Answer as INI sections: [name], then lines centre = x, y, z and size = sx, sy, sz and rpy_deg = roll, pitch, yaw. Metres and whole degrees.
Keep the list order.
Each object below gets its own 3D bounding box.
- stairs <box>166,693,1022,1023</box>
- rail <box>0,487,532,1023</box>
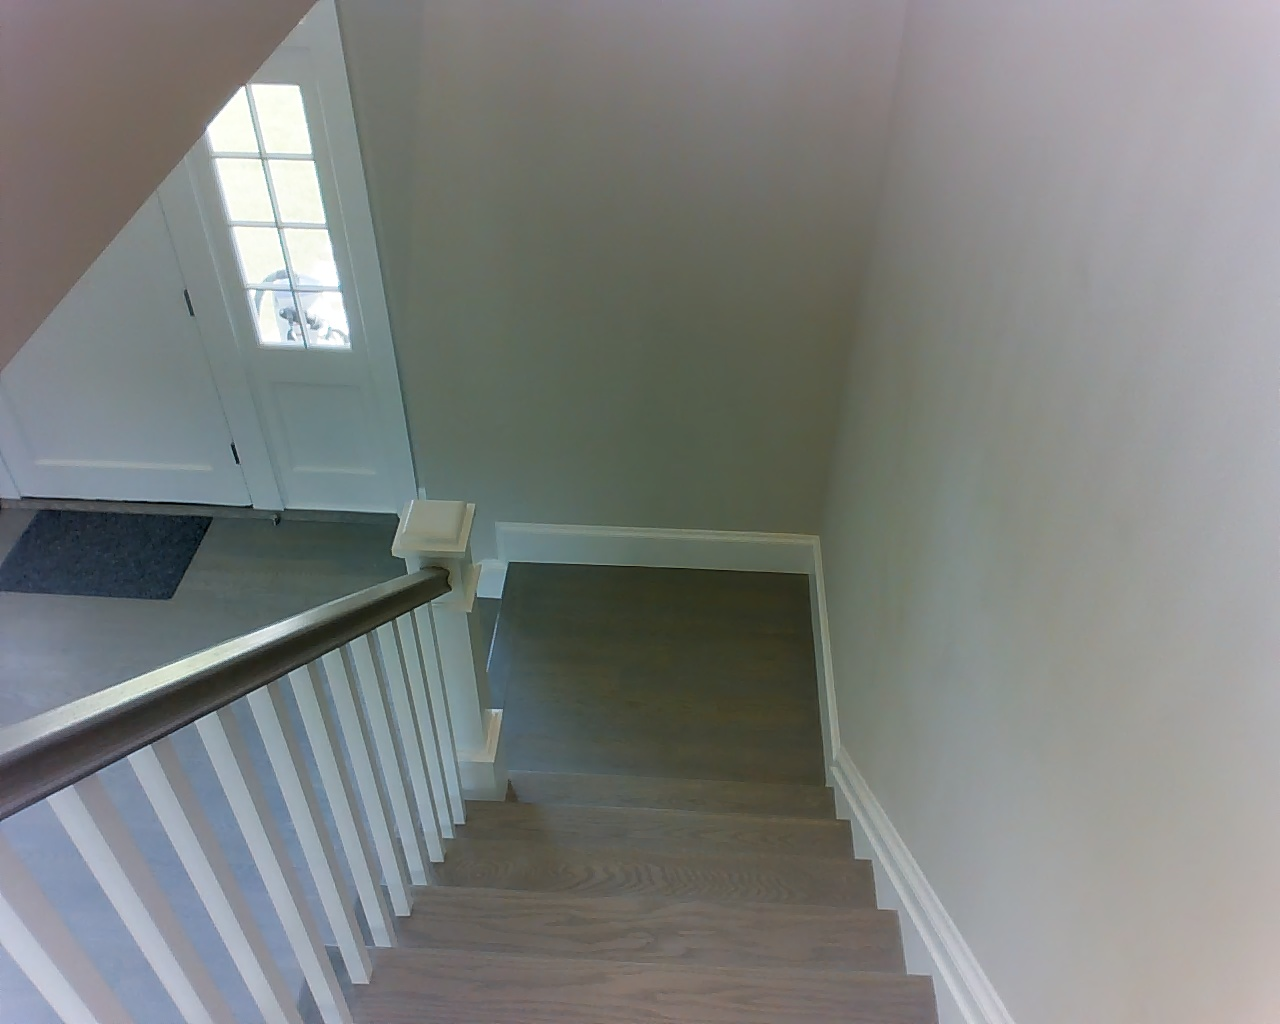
[stairs]
centre = -0.060, 0.990, 1.460
size = 1.200, 0.530, 4.060
rpy_deg = 2, 3, 2
[rail]
centre = -0.530, 0.610, 1.240
size = 0.220, 1.190, 4.200
rpy_deg = 3, 2, 2
